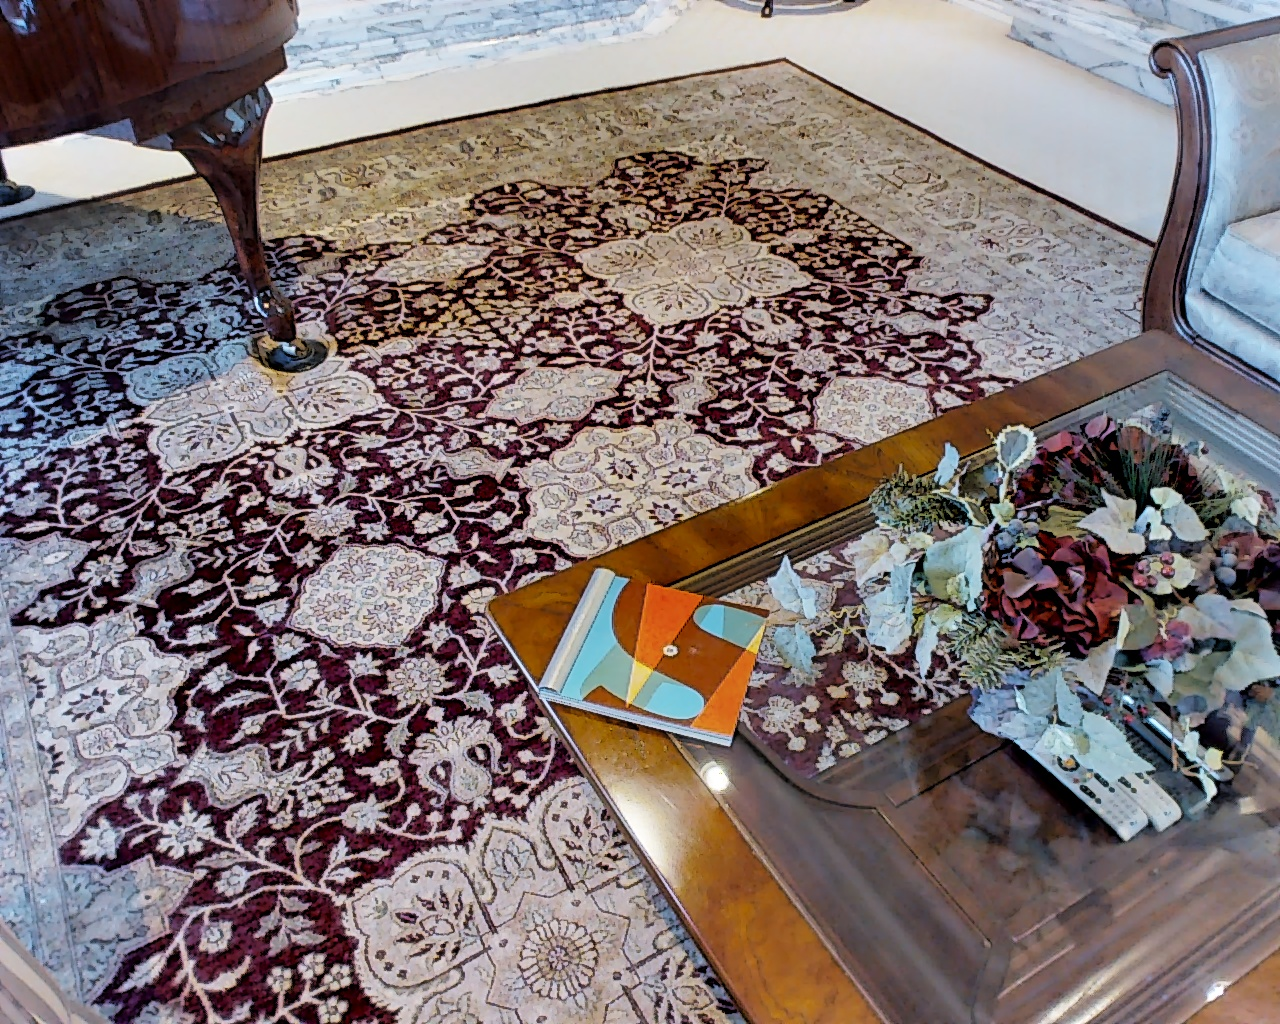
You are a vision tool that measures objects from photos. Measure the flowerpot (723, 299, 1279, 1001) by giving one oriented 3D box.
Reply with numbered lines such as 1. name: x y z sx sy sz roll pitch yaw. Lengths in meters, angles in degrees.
1. flowerpot: 0.510 0.080 1.170 0.620 0.250 0.540 -25 47 -26

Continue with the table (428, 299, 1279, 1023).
1. table: 0.550 0.320 1.390 1.310 0.500 0.940 -22 46 -23
